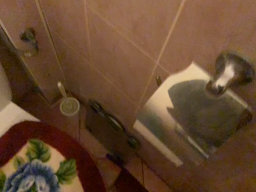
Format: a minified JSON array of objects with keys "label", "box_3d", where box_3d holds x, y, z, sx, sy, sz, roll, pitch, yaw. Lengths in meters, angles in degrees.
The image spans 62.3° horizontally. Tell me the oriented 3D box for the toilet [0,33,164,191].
[{"label":"toilet","box_3d":[-0.380,0.200,0.730,0.740,0.780,0.380,42,69,10]}]
